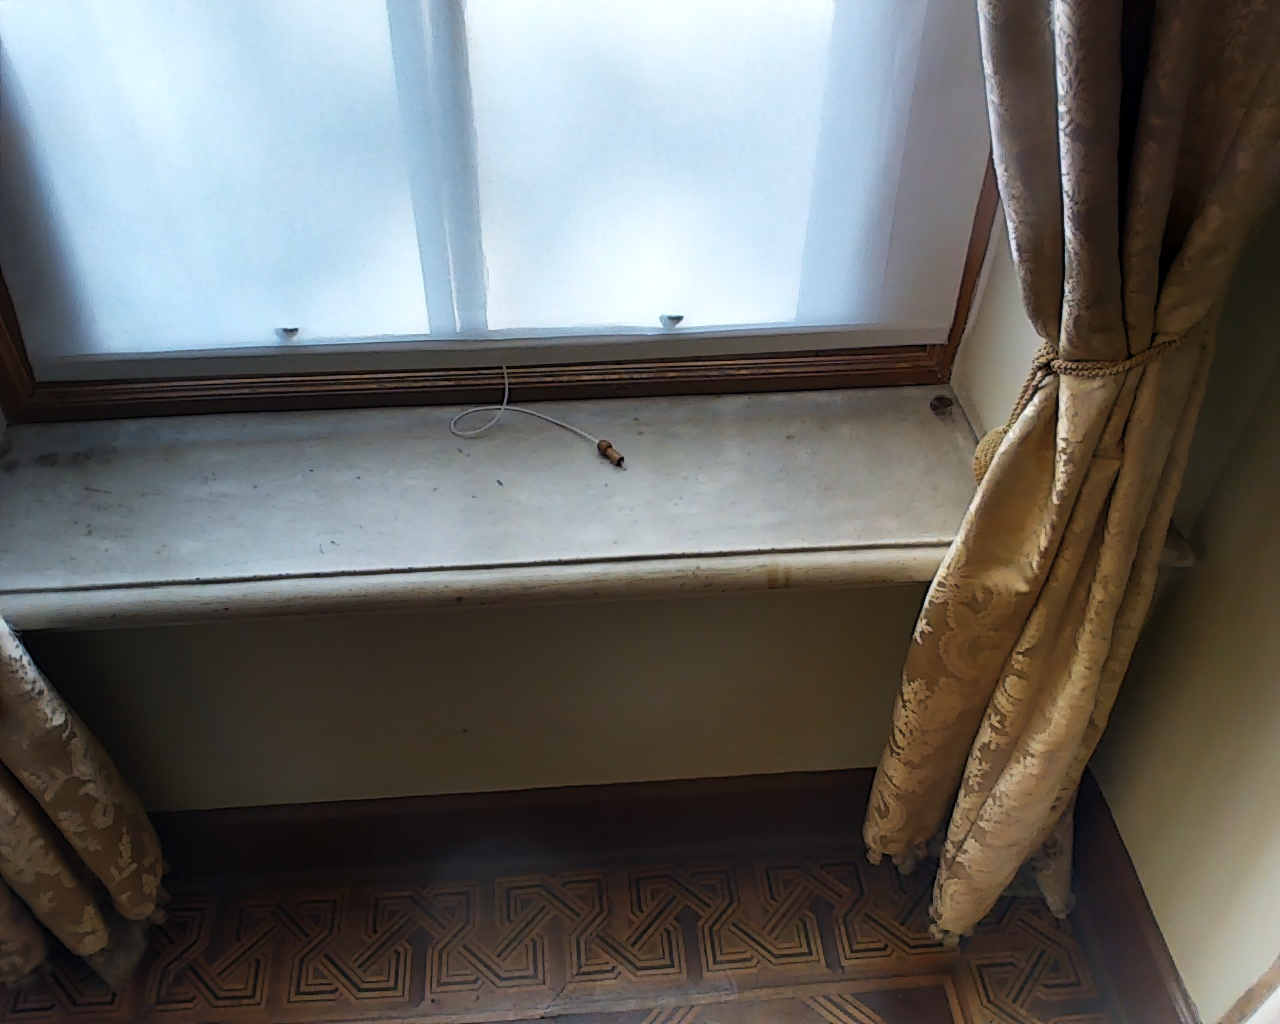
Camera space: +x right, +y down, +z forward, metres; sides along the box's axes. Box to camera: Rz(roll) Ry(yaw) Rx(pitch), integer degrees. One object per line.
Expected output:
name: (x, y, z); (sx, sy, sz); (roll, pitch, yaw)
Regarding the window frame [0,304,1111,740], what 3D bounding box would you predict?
window frame: (-0.170, 0.000, 1.440); (1.380, 0.340, 0.400); (-3, 43, -3)
